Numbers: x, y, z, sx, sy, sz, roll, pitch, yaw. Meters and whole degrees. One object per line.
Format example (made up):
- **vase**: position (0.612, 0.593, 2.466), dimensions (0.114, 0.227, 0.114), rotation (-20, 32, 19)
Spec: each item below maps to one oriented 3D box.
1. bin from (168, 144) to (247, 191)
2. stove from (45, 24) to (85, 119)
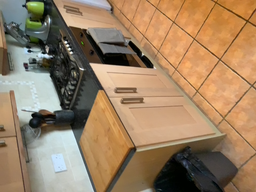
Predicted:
- **bin**: position (0.560, 0.520, 1.480), dimensions (0.230, 0.490, 0.180), rotation (58, 134, 36)
- **stove**: position (-0.610, -0.240, 1.940), dimensions (0.720, 0.060, 0.540), rotation (57, 133, 37)
